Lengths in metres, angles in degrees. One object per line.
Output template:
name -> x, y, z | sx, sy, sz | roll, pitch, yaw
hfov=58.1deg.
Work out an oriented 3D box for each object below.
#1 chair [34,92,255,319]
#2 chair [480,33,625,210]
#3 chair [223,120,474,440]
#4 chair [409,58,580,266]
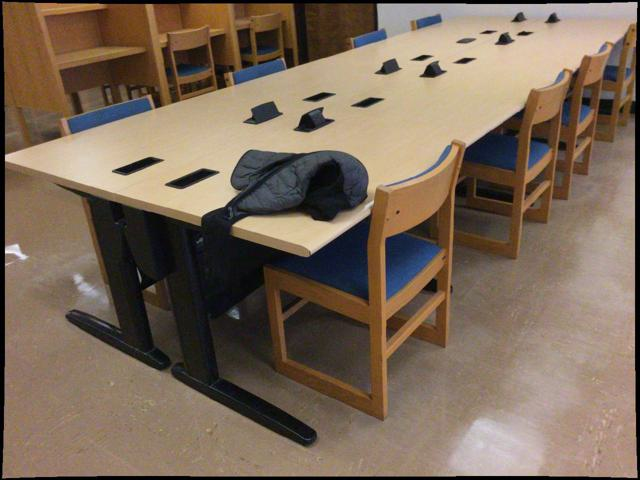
chair -> -0.778, -0.201, 2.700 | 0.599, 0.812, 0.590 | 14, 33, 34
chair -> 1.356, -0.732, 3.400 | 0.569, 0.832, 0.660 | 14, 33, 33
chair -> 0.140, 0.090, 2.020 | 0.569, 0.832, 0.590 | 14, 33, 33
chair -> 0.858, -0.421, 2.870 | 0.589, 0.812, 0.600 | 14, 33, 33
